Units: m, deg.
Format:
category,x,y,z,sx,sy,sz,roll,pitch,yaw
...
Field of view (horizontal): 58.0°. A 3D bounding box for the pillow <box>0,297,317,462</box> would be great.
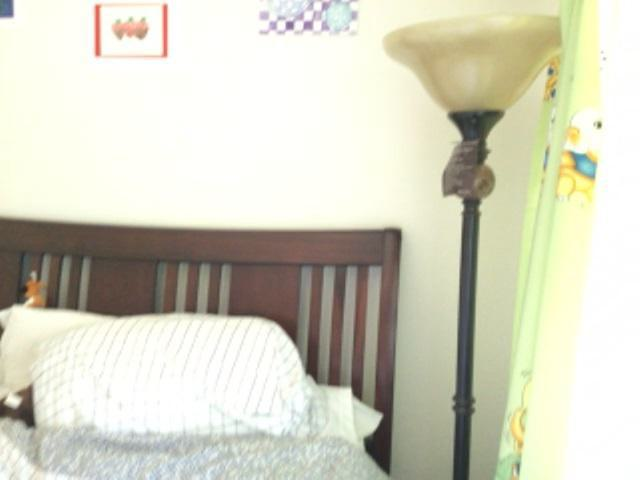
category,x,y,z,sx,sy,sz,roll,pitch,yaw
pillow,-0.430,0.320,1.460,0.790,0.220,0.400,3,7,7
